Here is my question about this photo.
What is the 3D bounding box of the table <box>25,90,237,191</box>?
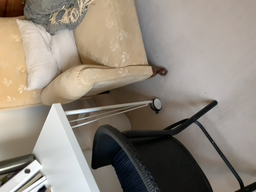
[{"bbox_3d":[0.090,0.640,1.060,1.210,0.730,0.610,57,131,27],"label":"table"}]

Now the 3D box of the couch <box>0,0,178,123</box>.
[{"bbox_3d":[-0.420,-0.320,1.360,0.950,0.910,0.750,-21,79,47],"label":"couch"}]

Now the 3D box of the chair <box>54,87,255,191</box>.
[{"bbox_3d":[0.190,0.360,0.920,0.550,0.720,0.530,57,131,27],"label":"chair"}]
